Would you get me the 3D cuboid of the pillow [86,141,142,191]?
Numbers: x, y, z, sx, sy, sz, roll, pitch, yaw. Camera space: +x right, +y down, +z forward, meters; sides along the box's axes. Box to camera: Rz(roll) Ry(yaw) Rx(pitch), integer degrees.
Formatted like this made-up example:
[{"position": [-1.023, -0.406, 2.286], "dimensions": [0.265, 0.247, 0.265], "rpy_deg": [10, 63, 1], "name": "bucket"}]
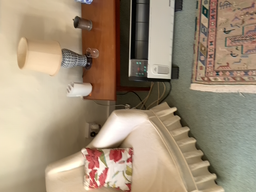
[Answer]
[{"position": [-0.100, 0.560, 1.530], "dimensions": [0.270, 0.290, 0.370], "rpy_deg": [2, 93, 49], "name": "pillow"}]
